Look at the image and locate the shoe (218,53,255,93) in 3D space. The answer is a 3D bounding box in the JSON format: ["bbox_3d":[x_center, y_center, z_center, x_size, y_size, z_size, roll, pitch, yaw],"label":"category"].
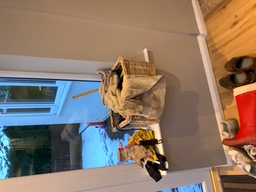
[{"bbox_3d":[0.800,-0.170,1.510,0.260,0.080,0.230,-139,54,-60],"label":"shoe"}]

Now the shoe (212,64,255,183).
[{"bbox_3d":[0.850,0.160,1.290,0.580,0.160,0.690,147,120,-63],"label":"shoe"}]
